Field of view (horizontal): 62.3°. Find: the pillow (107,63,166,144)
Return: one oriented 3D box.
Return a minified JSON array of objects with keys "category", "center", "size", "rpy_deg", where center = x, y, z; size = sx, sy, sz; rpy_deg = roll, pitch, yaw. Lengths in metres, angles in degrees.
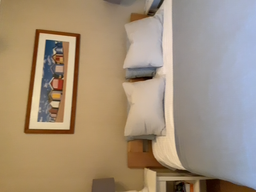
[{"category":"pillow","center":[0.110,0.070,1.950],"size":[0.130,0.440,0.600],"rpy_deg":[5,61,40]}]

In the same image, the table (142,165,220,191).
[{"category":"table","center":[0.510,0.980,2.120],"size":[0.350,0.680,0.500],"rpy_deg":[137,135,-75]}]

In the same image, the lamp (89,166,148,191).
[{"category":"lamp","center":[-0.100,0.860,2.020],"size":[0.250,0.530,0.330],"rpy_deg":[137,135,-75]}]
